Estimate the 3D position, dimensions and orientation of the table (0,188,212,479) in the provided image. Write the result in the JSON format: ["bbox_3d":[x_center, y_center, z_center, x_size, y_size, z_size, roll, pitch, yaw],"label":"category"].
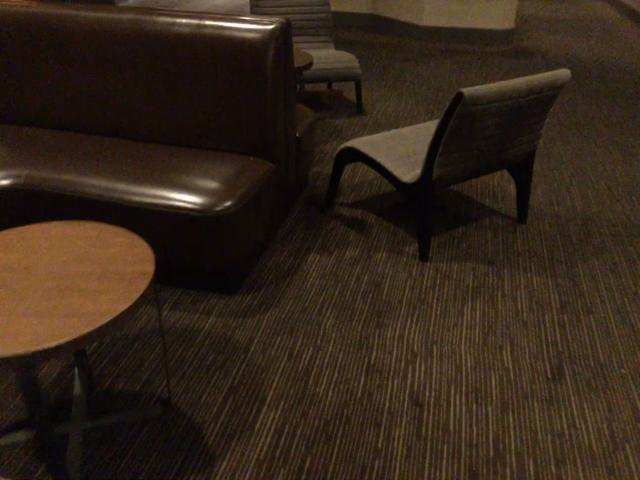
[{"bbox_3d":[-0.670,0.240,1.500,0.580,0.490,0.560,7,32,8],"label":"table"}]

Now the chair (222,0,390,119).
[{"bbox_3d":[-0.160,-1.430,4.150,0.870,0.800,0.910,-4,35,-21],"label":"chair"}]

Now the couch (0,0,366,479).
[{"bbox_3d":[-2.020,-0.840,2.580,4.030,0.960,3.490,10,33,7],"label":"couch"}]

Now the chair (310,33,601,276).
[{"bbox_3d":[0.540,-0.450,2.550,0.800,0.780,0.810,-14,31,-34],"label":"chair"}]
